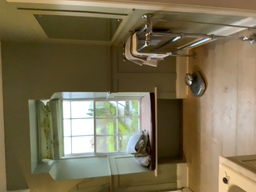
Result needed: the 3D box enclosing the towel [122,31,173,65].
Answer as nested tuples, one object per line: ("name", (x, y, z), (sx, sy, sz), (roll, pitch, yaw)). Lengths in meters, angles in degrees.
("towel", (0.200, -0.530, 2.440), (0.460, 0.470, 0.280), (-177, 86, -79))
